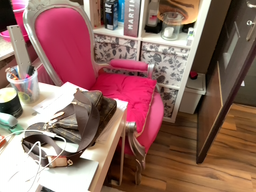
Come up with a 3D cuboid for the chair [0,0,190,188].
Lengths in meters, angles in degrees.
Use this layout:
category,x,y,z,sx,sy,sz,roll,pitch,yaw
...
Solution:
category,x,y,z,sx,sy,sz,roll,pitch,yaw
chair,-0.160,-0.040,1.360,0.810,1.000,0.590,14,42,10
